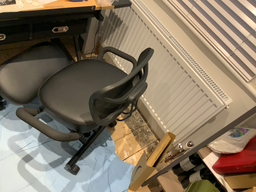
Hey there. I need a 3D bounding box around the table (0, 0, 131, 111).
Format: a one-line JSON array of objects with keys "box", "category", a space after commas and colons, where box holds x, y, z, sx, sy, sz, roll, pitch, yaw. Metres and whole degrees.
[{"box": [-0.730, -0.390, 1.240, 1.200, 0.690, 0.630, -21, 66, -36], "category": "table"}]

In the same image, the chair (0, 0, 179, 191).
[{"box": [-0.330, -0.050, 1.110, 0.710, 0.770, 0.600, 39, 48, 6], "category": "chair"}]
